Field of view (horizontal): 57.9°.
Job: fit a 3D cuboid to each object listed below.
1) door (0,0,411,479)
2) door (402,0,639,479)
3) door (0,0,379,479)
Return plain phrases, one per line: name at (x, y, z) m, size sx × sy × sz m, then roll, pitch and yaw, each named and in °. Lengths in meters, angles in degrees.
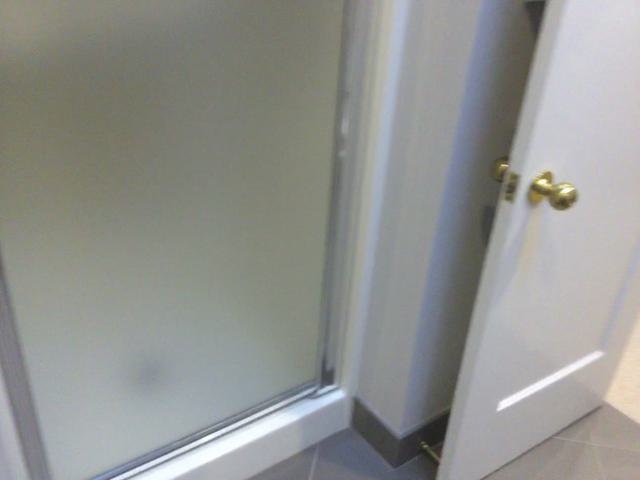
door at (-0.280, -0.230, 1.120) m, size 0.880 × 1.810 × 0.320 m, roll -16°, pitch 33°, yaw -34°
door at (0.540, -0.240, 1.130) m, size 0.700 × 1.990 × 0.080 m, roll -16°, pitch 33°, yaw -34°
door at (-0.250, -0.210, 1.070) m, size 0.810 × 1.570 × 0.110 m, roll -16°, pitch 33°, yaw -34°
